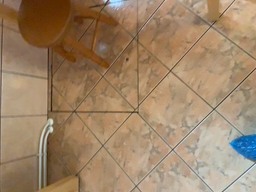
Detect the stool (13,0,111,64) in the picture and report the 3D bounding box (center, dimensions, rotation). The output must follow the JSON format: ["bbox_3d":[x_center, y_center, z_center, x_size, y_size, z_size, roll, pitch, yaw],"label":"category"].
[{"bbox_3d":[-0.330,-0.380,1.160,0.300,0.440,0.290,-4,86,21],"label":"stool"}]
